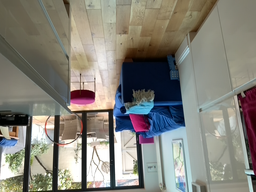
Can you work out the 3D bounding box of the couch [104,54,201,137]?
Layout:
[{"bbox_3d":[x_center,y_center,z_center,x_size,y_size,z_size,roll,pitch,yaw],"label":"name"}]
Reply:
[{"bbox_3d":[0.220,0.190,3.820,1.140,0.870,2.460,-2,166,-4],"label":"couch"}]
